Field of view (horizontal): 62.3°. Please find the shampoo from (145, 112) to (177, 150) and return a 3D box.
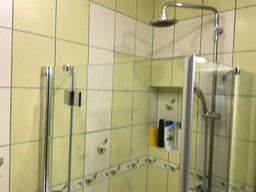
[{"bbox_3d":[0.260,0.270,1.690,0.210,0.260,0.120,5,3,39],"label":"shampoo"}]
